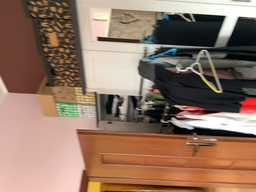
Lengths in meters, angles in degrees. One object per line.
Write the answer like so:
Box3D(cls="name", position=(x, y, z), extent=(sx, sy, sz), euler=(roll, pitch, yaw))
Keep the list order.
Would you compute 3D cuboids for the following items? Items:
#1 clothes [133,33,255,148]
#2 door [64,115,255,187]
Box3D(cls="clothes", position=(0.780, 0.100, 2.030), extent=(1.340, 1.360, 0.600), euler=(98, 175, -71))
Box3D(cls="door", position=(0.590, 0.570, 1.960), extent=(0.880, 2.170, 0.170), euler=(95, 177, -49))
